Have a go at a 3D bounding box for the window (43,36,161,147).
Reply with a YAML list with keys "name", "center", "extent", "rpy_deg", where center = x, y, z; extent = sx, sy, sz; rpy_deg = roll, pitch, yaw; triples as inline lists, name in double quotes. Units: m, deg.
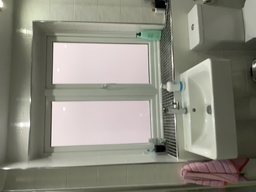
- name: "window"
  center: [-0.240, -0.050, 2.050]
  extent: [0.140, 1.080, 1.010]
  rpy_deg: [149, 120, -82]
